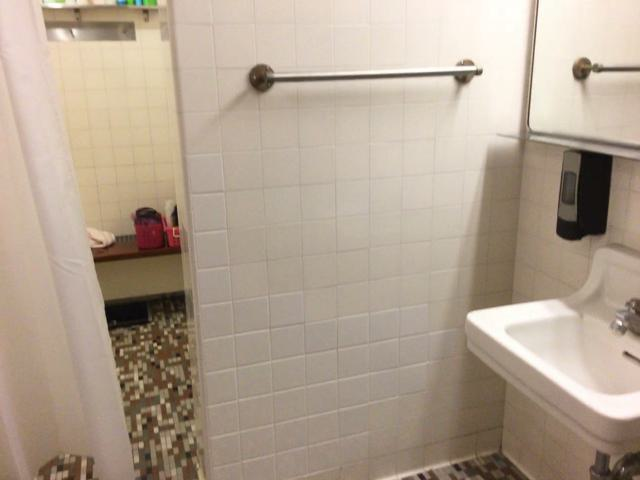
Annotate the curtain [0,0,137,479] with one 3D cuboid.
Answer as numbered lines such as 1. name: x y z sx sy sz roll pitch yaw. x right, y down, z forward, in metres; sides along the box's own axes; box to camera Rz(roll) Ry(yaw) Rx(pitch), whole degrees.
1. curtain: -0.890 -0.070 1.550 0.580 2.010 0.460 -6 16 -18
